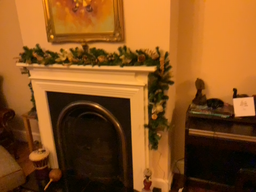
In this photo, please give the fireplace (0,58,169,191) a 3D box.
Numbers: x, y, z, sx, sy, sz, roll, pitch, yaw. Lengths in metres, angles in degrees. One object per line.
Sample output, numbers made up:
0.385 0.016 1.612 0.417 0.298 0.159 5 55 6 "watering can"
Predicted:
-0.380 0.320 1.980 1.380 1.240 0.650 4 20 21 "fireplace"
